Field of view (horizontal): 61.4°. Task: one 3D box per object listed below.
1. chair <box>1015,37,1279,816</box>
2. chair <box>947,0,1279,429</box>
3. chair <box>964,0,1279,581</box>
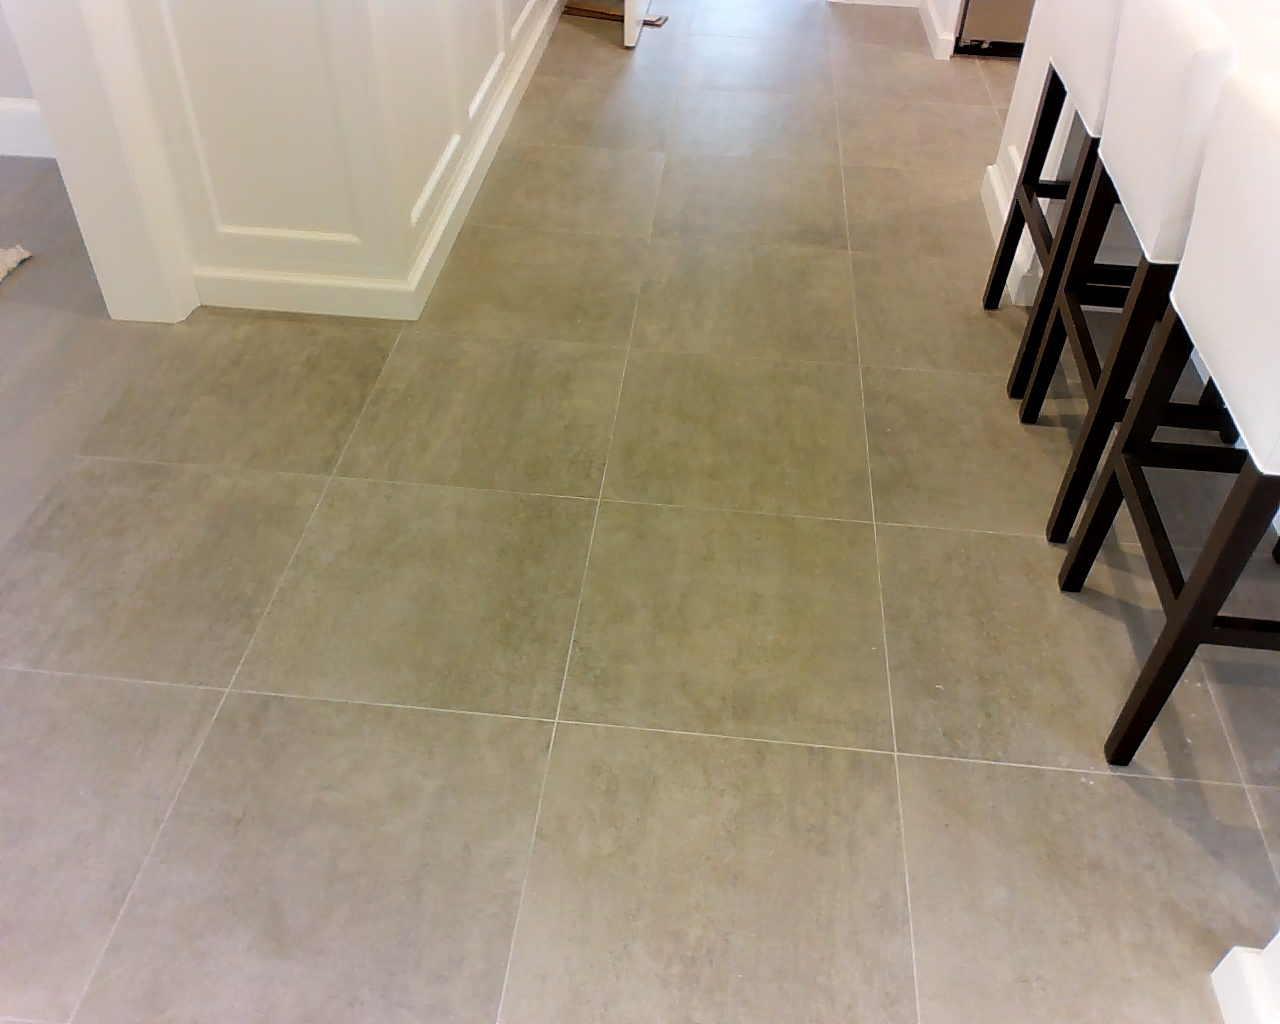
[{"bbox_3d":[1.100,-0.080,1.700,0.630,1.060,0.600,5,42,3],"label":"chair"},{"bbox_3d":[1.200,-0.790,2.500,0.660,1.050,0.530,3,42,1],"label":"chair"},{"bbox_3d":[1.150,-0.490,2.110,0.660,1.130,0.610,3,42,1],"label":"chair"}]
